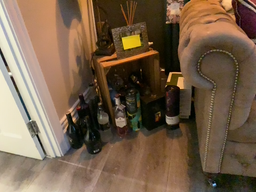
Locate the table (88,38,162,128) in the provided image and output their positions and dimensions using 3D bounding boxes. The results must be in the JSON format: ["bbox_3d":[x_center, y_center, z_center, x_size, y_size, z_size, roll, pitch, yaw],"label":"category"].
[{"bbox_3d":[-0.010,-0.110,1.620,0.430,0.510,0.310,-18,34,-17],"label":"table"}]
